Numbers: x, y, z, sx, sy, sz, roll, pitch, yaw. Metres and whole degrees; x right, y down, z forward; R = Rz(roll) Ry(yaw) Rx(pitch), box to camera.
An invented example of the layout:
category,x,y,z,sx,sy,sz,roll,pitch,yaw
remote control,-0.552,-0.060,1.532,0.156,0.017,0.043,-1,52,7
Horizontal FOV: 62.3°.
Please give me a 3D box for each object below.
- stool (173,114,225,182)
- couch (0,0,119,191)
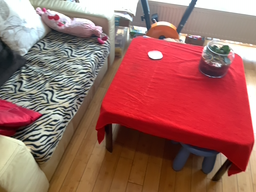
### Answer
category,x,y,z,sx,sy,sz,roll,pitch,yaw
stool,0.440,0.330,1.340,0.220,0.300,0.250,14,48,9
couch,-0.720,-0.180,1.440,0.950,0.730,1.480,12,47,7
